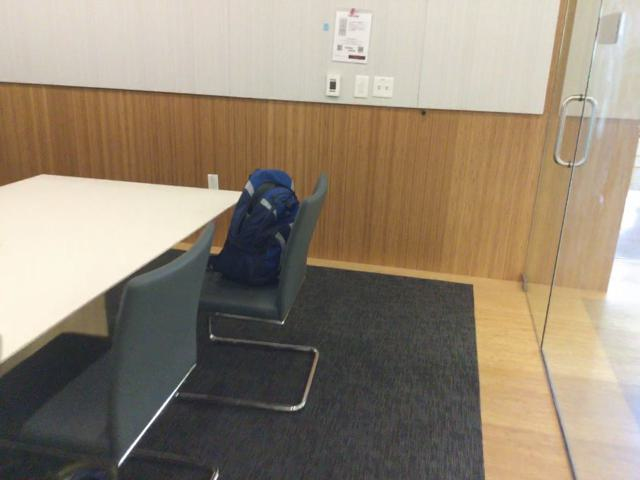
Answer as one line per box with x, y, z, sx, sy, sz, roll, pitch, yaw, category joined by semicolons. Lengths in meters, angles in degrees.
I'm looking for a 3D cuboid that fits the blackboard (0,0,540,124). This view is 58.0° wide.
-0.640;-1.180;3.440;3.610;0.660;0.170;7;19;10;blackboard

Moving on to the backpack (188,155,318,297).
-0.260;-0.070;2.320;0.420;0.450;0.340;7;19;10;backpack
